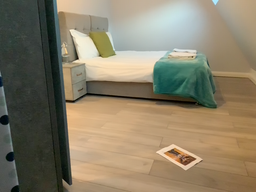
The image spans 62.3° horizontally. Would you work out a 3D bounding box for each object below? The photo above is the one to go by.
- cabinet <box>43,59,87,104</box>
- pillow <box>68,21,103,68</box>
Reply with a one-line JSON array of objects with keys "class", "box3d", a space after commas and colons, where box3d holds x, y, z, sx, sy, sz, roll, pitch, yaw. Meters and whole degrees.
[{"class": "cabinet", "box3d": [-0.900, -0.230, 3.100, 0.420, 0.540, 0.410, 5, 18, 16]}, {"class": "pillow", "box3d": [-0.680, -0.870, 3.540, 0.170, 0.510, 0.670, -5, 37, 20]}]
